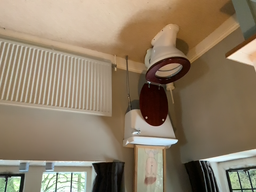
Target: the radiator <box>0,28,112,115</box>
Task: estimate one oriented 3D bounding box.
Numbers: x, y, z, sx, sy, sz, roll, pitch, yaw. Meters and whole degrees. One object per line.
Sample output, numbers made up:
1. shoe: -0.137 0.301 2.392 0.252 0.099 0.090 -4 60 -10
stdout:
1. radiator: -0.700 -0.210 1.850 1.200 0.640 0.030 10 154 -27
